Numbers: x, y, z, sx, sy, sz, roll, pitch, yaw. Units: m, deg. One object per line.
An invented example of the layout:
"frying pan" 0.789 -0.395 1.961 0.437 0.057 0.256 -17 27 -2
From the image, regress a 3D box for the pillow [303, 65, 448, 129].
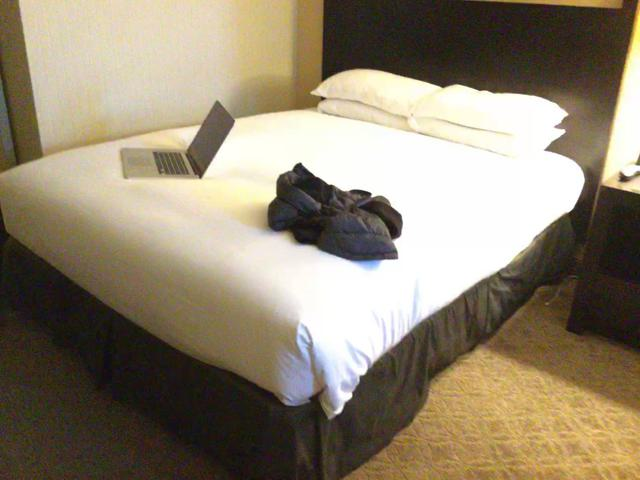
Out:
"pillow" 0.280 -0.760 3.010 0.620 0.230 0.400 17 26 34

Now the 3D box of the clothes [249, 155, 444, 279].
"clothes" 0.080 -0.090 1.640 0.370 0.180 0.420 17 26 34

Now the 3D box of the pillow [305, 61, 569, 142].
"pillow" 0.520 -0.710 2.830 1.200 0.220 0.400 17 26 34

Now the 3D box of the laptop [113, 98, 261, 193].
"laptop" -0.490 -0.360 2.080 0.460 0.230 0.470 -5 22 -18
